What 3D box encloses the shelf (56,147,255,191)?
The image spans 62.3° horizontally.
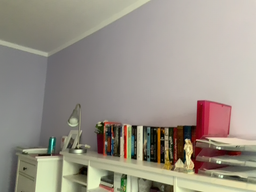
[{"bbox_3d":[0.050,0.680,1.280,0.300,0.610,1.470,11,-13,-43],"label":"shelf"}]
